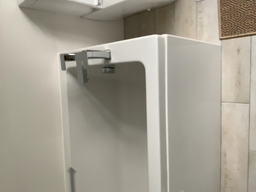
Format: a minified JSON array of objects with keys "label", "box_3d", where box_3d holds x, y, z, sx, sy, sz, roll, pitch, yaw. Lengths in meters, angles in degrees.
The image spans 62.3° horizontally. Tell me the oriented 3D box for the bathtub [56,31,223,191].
[{"label":"bathtub","box_3d":[0.070,0.560,1.330,0.770,0.600,1.690,4,98,43]}]
